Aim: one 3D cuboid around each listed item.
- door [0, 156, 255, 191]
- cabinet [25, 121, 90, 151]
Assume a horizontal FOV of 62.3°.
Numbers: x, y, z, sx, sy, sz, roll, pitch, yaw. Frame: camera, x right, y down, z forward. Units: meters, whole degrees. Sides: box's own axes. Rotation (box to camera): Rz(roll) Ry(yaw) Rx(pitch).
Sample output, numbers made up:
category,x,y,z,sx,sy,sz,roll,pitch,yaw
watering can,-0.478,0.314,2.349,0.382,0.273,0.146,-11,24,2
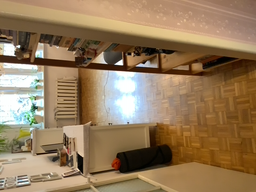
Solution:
category,x,y,z,sx,sy,sz,roll,pitch,yaw
door,-0.110,0.610,1.310,0.930,2.010,0.090,-15,77,61
cabinet,-1.720,0.910,5.060,1.050,1.300,0.540,-15,77,61
